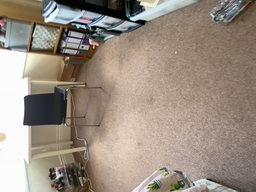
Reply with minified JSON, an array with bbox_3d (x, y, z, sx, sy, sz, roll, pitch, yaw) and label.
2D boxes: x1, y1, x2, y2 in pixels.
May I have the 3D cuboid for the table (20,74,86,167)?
[{"bbox_3d":[-1.050,0.290,2.930,0.730,0.680,1.070,-2,88,54],"label":"table"}]
